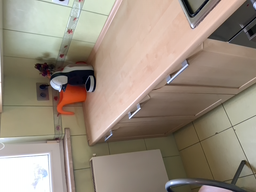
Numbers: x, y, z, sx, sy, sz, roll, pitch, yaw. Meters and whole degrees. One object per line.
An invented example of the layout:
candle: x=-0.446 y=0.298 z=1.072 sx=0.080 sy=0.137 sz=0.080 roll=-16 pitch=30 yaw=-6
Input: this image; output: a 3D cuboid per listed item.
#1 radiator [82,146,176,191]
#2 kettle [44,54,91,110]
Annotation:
radiator: x=0.050 y=0.750 z=1.560 sx=0.130 sy=0.680 sz=0.670 roll=-44 pitch=52 yaw=51
kettle: x=-0.490 y=-0.090 z=1.660 sx=0.390 sy=0.250 sz=0.240 roll=-50 pitch=48 yaw=48
